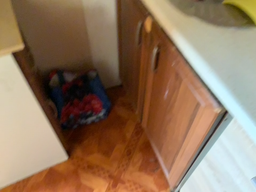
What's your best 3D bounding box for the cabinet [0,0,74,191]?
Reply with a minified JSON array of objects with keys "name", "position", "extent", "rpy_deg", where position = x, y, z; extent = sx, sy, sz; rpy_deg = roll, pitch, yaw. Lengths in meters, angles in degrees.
[{"name":"cabinet","position":[-0.640,0.050,0.970],"extent":[0.530,0.830,0.450],"rpy_deg":[-18,55,-15]}]
